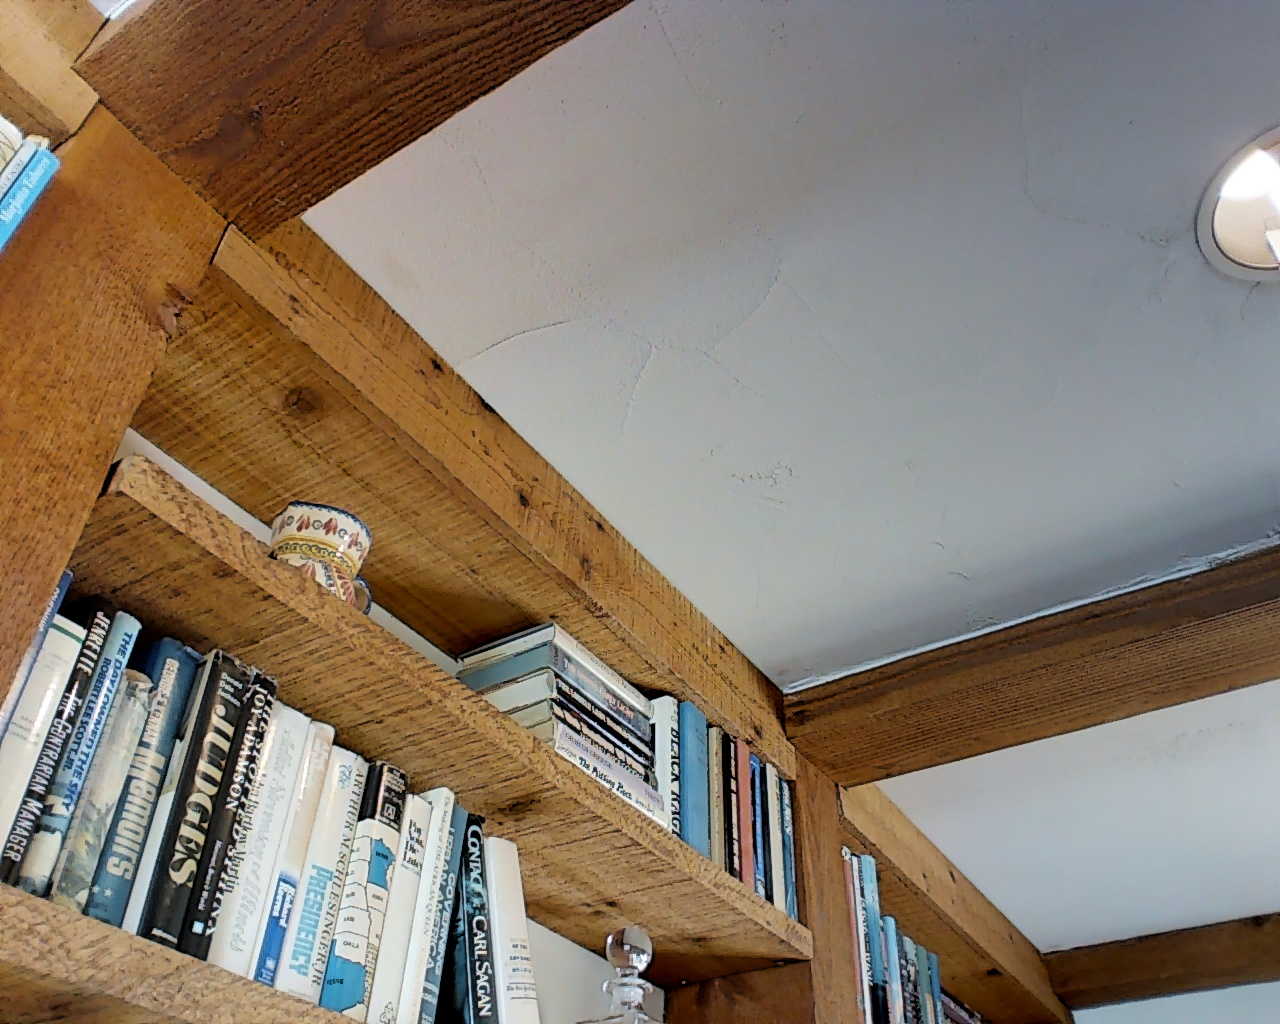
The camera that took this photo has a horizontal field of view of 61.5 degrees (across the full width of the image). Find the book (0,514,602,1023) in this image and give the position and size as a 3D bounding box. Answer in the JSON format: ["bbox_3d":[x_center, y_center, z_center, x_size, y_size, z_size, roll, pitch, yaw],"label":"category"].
[{"bbox_3d":[-0.240,0.270,0.830,0.110,0.270,0.540,-24,-47,27],"label":"book"}]

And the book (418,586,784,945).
[{"bbox_3d":[-0.030,0.340,1.370,0.230,0.250,0.430,-23,-47,26],"label":"book"}]
